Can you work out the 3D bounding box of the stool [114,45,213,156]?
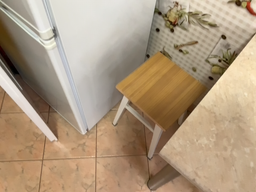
[{"bbox_3d":[0.150,0.050,1.160,0.330,0.460,0.310,40,66,16],"label":"stool"}]
